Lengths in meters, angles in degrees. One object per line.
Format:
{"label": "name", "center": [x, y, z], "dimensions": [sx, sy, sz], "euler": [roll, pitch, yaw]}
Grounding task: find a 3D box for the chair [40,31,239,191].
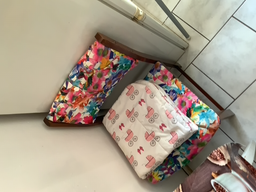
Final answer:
{"label": "chair", "center": [0.120, 0.110, 1.030], "dimensions": [0.490, 0.770, 0.450], "euler": [48, 114, 25]}
